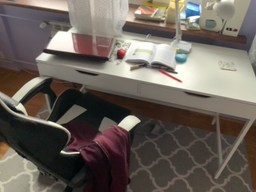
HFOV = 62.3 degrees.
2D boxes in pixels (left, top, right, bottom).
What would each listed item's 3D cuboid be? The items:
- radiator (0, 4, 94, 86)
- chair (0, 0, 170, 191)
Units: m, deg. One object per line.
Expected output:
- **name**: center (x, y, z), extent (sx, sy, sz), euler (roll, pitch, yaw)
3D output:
- **radiator**: center (-0.790, -0.520, 2.190), extent (0.820, 0.620, 0.260), euler (15, 42, 11)
- **chair**: center (-0.350, 0.130, 1.140), extent (0.700, 1.200, 0.720), euler (23, 44, 20)
